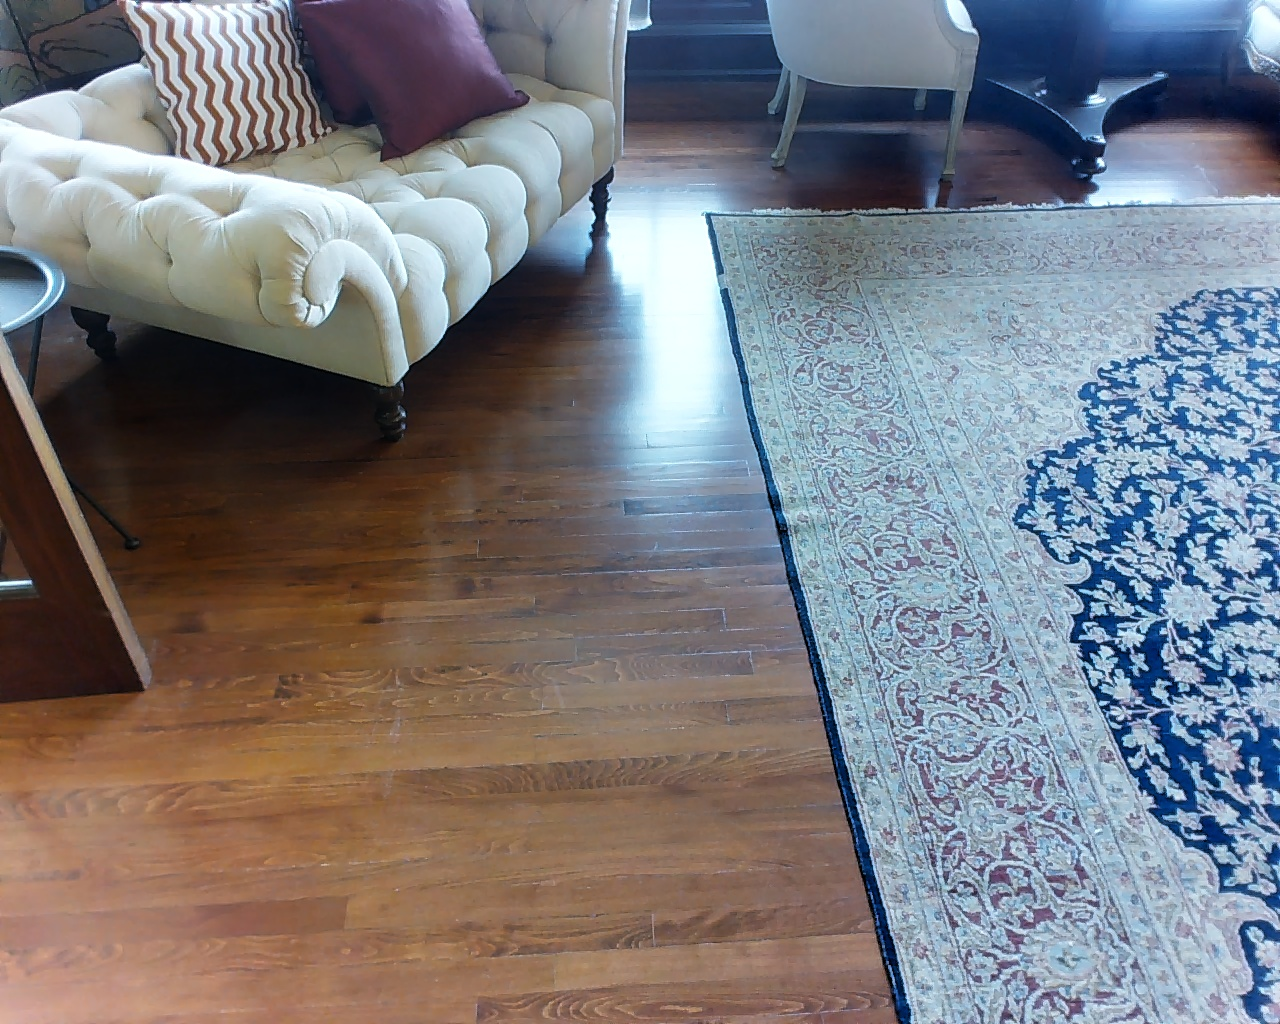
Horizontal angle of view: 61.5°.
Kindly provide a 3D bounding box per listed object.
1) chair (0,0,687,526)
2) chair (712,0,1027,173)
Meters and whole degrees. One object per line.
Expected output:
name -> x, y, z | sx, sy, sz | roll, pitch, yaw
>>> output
chair -> -0.750, -1.090, 2.840 | 1.140, 0.940, 2.030 | 15, 44, 16
chair -> 0.720, -1.730, 3.590 | 0.890, 0.890, 0.790 | 0, 42, 0
